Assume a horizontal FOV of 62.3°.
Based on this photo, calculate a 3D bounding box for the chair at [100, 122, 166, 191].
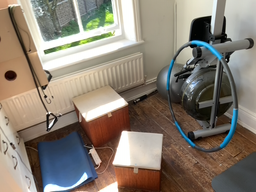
[{"bbox_3d":[0.070,0.480,1.740,0.450,0.300,0.420,3,37,12],"label":"chair"}]
